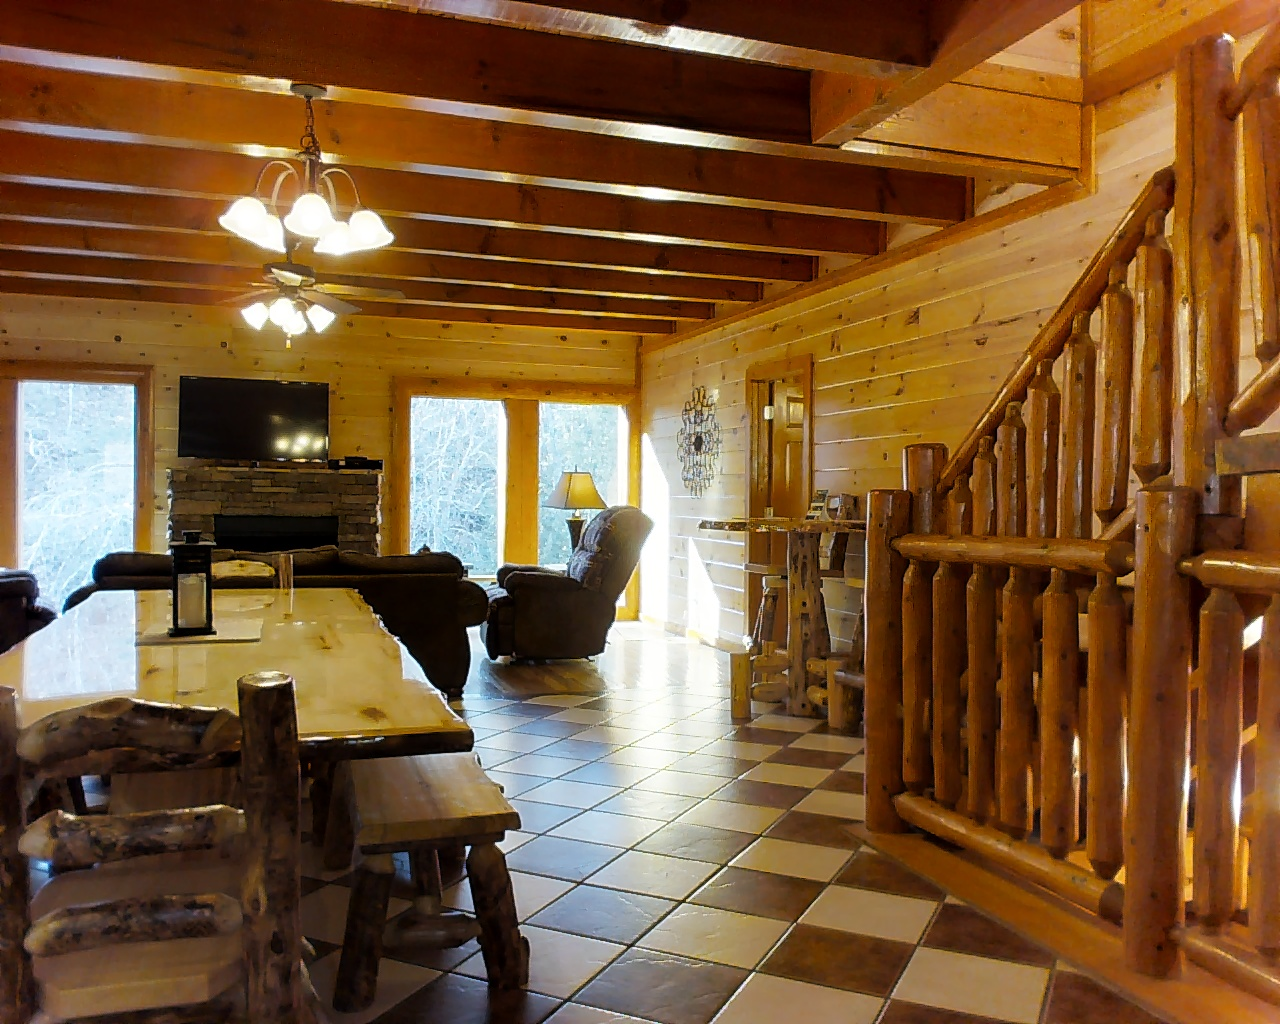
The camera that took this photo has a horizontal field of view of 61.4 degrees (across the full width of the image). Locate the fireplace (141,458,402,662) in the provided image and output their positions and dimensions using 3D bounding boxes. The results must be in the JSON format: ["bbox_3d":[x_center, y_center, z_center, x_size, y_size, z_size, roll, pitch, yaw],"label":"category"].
[{"bbox_3d":[-2.939,0.350,8.690,1.869,1.501,1.000,0,1,-19],"label":"fireplace"}]
